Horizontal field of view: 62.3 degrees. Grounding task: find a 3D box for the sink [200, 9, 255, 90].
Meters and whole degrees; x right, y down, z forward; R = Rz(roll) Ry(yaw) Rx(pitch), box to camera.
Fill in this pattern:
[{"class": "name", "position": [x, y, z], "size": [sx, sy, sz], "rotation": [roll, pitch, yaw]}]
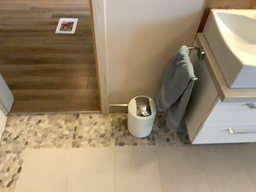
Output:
[{"class": "sink", "position": [0.700, -0.230, 0.980], "size": [0.590, 0.130, 0.420], "rotation": [-1, 49, -5]}]
